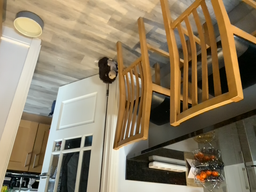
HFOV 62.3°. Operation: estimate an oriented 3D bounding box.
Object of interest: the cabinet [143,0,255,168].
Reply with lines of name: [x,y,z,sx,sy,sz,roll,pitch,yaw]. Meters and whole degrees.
cabinet: [0.780,-0.030,1.640,0.590,0.890,1.500,16,149,-25]
